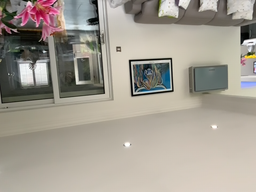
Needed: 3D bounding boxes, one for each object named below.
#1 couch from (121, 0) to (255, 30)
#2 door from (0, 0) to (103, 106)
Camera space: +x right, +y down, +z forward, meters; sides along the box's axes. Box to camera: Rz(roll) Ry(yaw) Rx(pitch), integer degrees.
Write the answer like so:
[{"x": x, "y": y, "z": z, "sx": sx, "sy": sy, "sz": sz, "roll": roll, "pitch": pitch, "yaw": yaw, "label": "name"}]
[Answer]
[{"x": 1.350, "y": -1.690, "z": 3.620, "sx": 2.740, "sy": 0.800, "sz": 1.090, "roll": -6, "pitch": -172, "yaw": -26, "label": "couch"}, {"x": -1.210, "y": -0.890, "z": 3.240, "sx": 1.570, "sy": 1.930, "sz": 0.100, "roll": -6, "pitch": -172, "yaw": -25, "label": "door"}]
